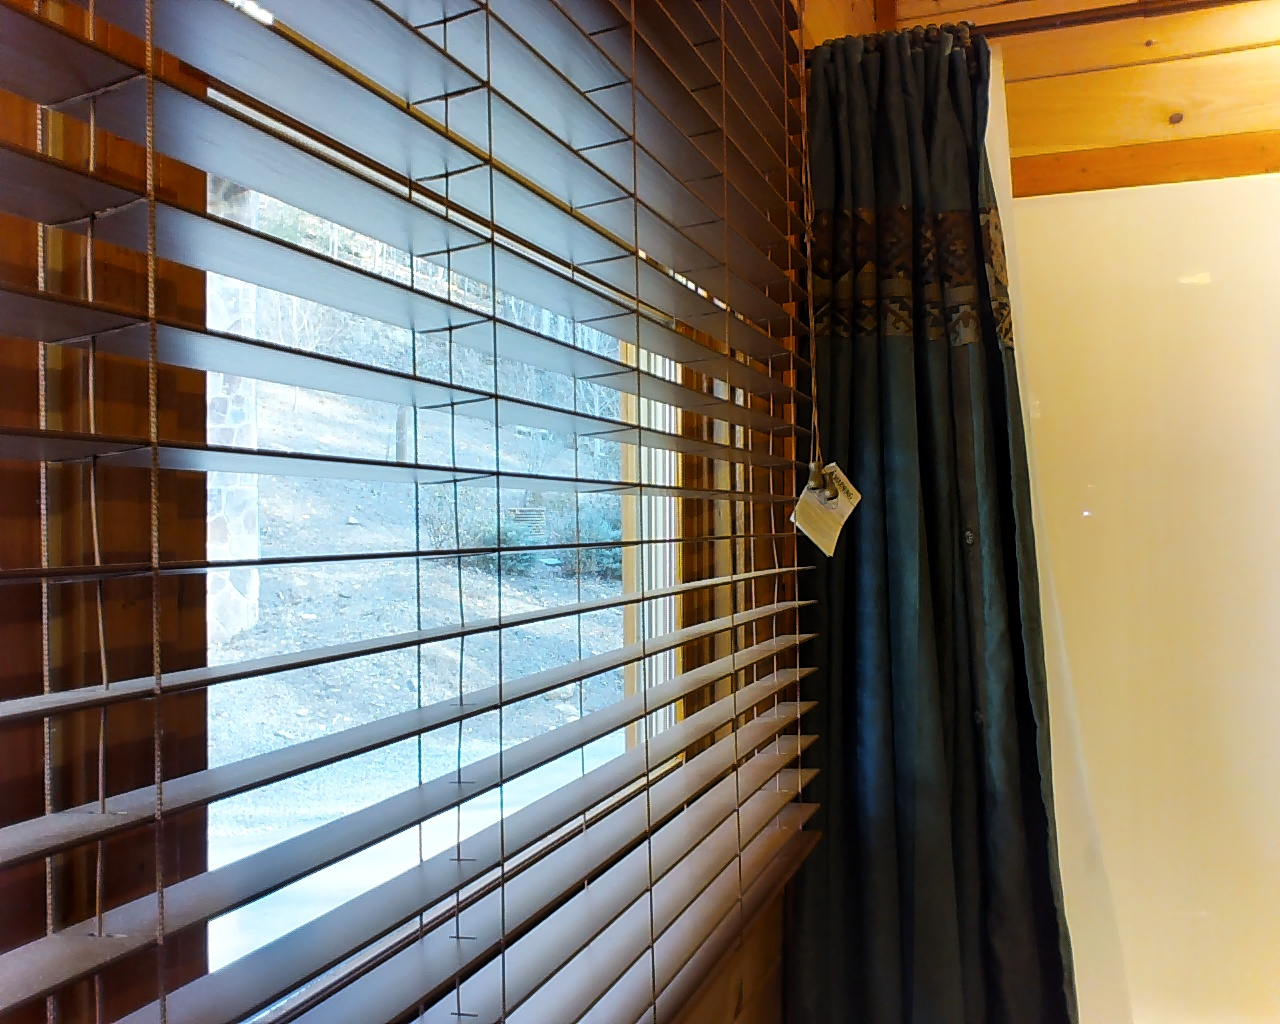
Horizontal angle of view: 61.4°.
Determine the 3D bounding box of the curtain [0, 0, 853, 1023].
[{"bbox_3d":[-0.260,-0.210,0.530,0.300,1.571,2.200,-1,0,22],"label":"curtain"}]
